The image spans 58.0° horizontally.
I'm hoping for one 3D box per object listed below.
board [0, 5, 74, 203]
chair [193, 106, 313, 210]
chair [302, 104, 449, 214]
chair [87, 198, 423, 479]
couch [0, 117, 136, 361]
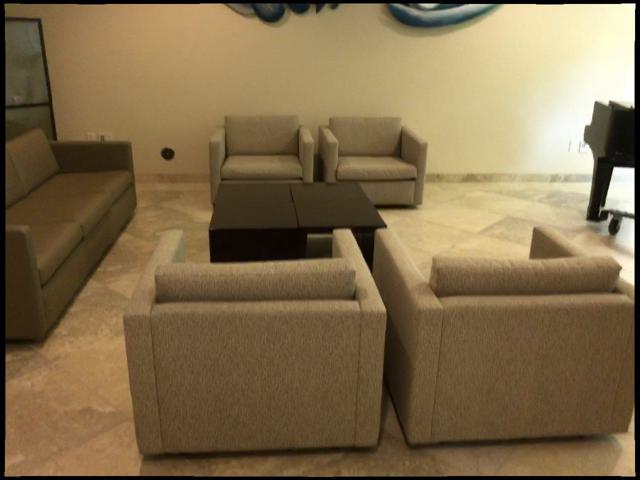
[{"bbox_3d":[-2.595,-1.162,4.860,0.559,1.523,0.600,17,25,32],"label":"board"},{"bbox_3d":[-0.589,-0.752,5.120,0.948,0.711,0.900,0,21,-7],"label":"chair"},{"bbox_3d":[0.439,-0.782,5.360,1.108,0.761,1.090,0,21,-7],"label":"chair"},{"bbox_3d":[-0.249,0.321,2.330,1.038,0.741,0.880,0,21,-7],"label":"chair"},{"bbox_3d":[-1.866,-0.190,3.540,0.978,0.721,2.271,0,21,-7],"label":"couch"}]
